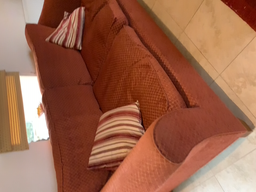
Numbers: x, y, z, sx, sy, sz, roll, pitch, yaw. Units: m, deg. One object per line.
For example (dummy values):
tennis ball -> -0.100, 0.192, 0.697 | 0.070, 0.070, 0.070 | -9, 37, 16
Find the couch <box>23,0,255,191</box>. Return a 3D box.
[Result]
couch -> -0.260, -0.210, 1.800 | 1.070, 0.880, 2.210 | -60, 44, 39
